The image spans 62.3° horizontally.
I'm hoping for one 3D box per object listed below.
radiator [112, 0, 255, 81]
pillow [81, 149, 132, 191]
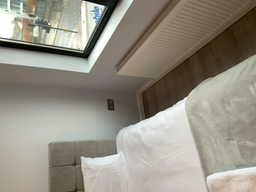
[{"bbox_3d":[0.390,-0.430,1.800,1.250,0.620,0.050,-37,54,56],"label":"radiator"},{"bbox_3d":[-0.210,0.890,2.040,0.130,0.470,0.700,109,158,-68],"label":"pillow"}]
